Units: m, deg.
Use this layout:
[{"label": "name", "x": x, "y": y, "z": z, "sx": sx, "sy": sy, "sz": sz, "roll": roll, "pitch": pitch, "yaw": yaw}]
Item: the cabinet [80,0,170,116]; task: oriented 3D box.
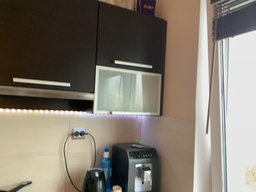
[{"label": "cabinet", "x": -0.020, "y": -0.230, "z": 1.540, "sx": 0.530, "sy": 0.710, "sz": 0.300, "roll": 5, "pitch": -2, "yaw": -29}]

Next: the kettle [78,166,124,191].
[{"label": "kettle", "x": -0.190, "y": 0.610, "z": 1.460, "sx": 0.240, "sy": 0.160, "sz": 0.240, "roll": 5, "pitch": -2, "yaw": -26}]
